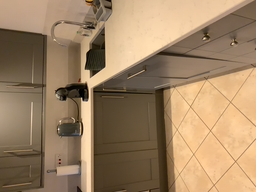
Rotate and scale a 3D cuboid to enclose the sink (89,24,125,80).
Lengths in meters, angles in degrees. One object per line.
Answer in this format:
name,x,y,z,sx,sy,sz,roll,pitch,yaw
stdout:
sink,-0.210,-0.380,1.980,0.450,0.180,0.380,166,104,-63
